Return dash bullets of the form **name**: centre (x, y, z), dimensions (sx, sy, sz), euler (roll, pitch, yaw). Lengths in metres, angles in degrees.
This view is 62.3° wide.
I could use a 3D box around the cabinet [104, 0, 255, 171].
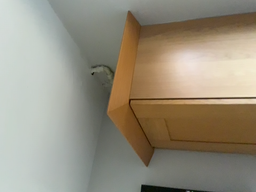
- **cabinet**: centre (0.400, -0.010, 0.880), dimensions (0.590, 0.760, 0.470), euler (63, -149, -55)
